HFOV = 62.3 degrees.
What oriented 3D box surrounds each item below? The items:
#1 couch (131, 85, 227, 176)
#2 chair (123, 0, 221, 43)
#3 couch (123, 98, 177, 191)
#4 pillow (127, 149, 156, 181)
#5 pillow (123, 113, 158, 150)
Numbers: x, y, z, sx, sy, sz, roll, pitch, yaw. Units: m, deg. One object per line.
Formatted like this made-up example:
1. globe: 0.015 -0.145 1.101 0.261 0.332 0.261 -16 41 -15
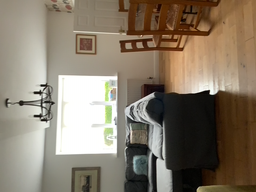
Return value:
1. couch: 0.550 0.430 3.000 1.540 0.810 0.930 143 128 -81
2. chair: 0.480 -1.050 2.670 0.590 1.020 0.490 -98 11 -48
3. couch: 0.370 1.310 4.130 0.910 0.850 2.470 142 128 -81
4. pillow: 0.260 1.350 4.180 0.470 0.360 0.150 60 170 3
5. pillow: 0.250 0.700 4.220 0.530 0.460 0.180 56 170 0
